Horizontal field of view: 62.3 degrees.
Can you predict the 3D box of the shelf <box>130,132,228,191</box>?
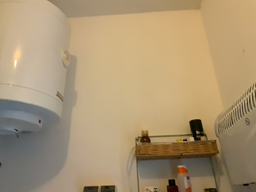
[{"bbox_3d":[0.190,0.340,0.850,0.350,0.350,0.120,-3,-24,2],"label":"shelf"}]
